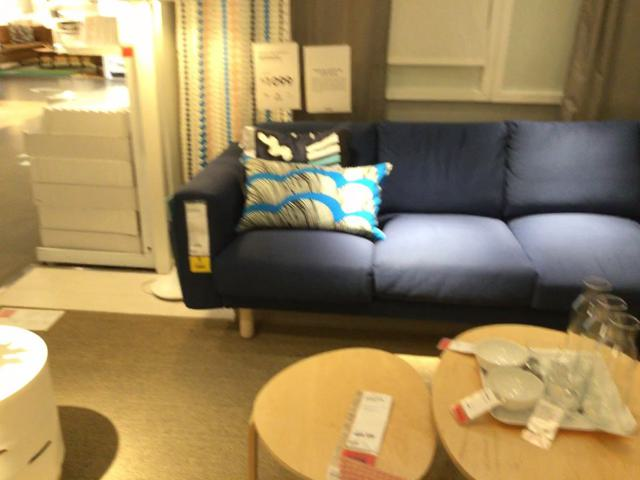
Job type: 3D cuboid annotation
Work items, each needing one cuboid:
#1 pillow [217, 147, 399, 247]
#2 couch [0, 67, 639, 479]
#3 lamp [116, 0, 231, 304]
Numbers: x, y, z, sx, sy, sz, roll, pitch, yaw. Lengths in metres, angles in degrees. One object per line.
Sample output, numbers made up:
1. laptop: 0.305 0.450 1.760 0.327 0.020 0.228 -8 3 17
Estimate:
1. pillow: -0.030 -0.200 2.470 0.700 0.280 0.410 4 21 8
2. couch: 0.780 0.120 1.830 2.920 1.020 2.320 4 21 8
3. lamp: -0.630 -0.410 2.620 0.310 1.370 0.340 4 21 8
